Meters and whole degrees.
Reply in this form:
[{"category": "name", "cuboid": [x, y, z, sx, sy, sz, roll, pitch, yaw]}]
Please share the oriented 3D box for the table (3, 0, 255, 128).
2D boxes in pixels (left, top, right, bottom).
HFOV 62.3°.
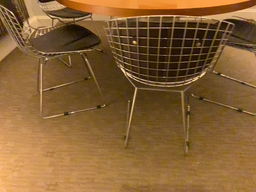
[{"category": "table", "cuboid": [0.190, -0.530, 1.700, 1.410, 0.750, 1.410, 1, 37, 3]}]
